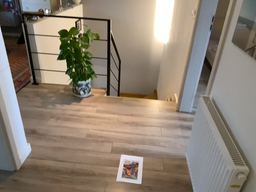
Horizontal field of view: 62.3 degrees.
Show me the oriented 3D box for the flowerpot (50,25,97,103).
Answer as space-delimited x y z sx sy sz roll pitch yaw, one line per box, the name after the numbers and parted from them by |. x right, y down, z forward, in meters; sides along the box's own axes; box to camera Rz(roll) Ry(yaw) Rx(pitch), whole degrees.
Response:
-0.670 -0.410 2.780 0.480 0.920 0.360 3 30 -3 | flowerpot
